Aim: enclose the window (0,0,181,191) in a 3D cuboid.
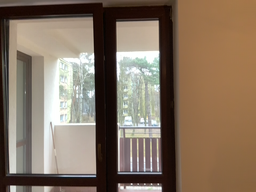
[{"bbox_3d":[-0.340,0.440,1.710,1.480,2.360,0.180,0,-1,0],"label":"window"}]
